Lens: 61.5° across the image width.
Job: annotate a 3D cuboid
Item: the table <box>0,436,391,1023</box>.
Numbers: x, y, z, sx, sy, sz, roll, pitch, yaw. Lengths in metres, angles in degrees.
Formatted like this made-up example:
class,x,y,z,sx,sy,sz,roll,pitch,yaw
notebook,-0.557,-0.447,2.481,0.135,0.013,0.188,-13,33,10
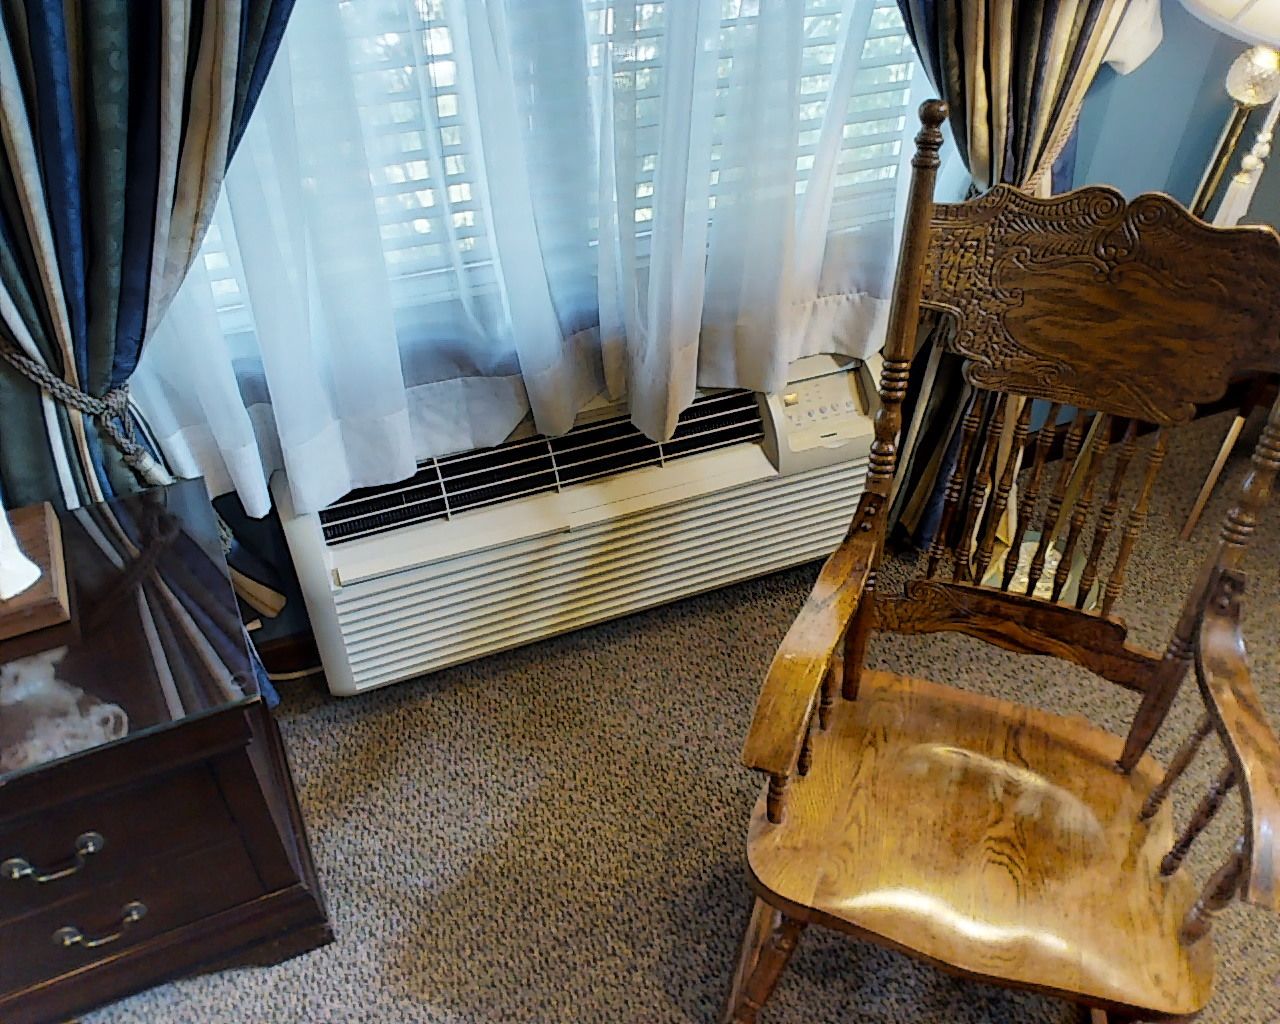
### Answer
class,x,y,z,sx,sy,sz,roll,pitch,yaw
table,-0.760,0.350,1.420,0.670,0.610,0.430,-18,46,-19

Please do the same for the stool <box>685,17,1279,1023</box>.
class,x,y,z,sx,sy,sz,roll,pitch,yaw
stool,0.480,0.150,1.300,0.590,1.060,0.980,13,44,12
